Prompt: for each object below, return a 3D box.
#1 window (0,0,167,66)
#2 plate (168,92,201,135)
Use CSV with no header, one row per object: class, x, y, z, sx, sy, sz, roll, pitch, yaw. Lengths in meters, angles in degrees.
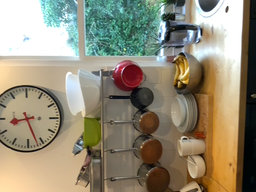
window,-0.380,-0.700,1.580,0.060,1.370,0.940,-147,56,-80
plate,0.380,0.110,1.470,0.220,0.140,0.260,-142,51,-80
